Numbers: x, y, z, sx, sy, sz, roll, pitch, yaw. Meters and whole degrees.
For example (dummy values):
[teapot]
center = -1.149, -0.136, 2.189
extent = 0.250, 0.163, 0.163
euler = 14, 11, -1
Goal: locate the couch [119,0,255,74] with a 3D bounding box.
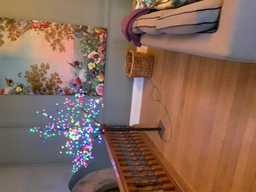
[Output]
[couch]
center = 0.570, -0.980, 2.250
extent = 2.350, 0.770, 1.070
euler = -131, 45, -68
